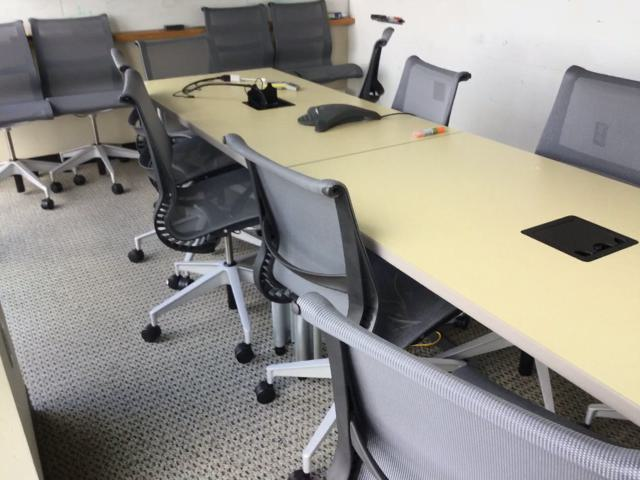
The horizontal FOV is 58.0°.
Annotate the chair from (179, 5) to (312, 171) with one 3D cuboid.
[{"bbox_3d":[-0.490,-1.050,3.900,0.670,0.930,0.580,-14,30,-25],"label":"chair"}]

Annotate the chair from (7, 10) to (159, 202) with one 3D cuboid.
[{"bbox_3d":[-1.390,-0.820,3.420,0.600,0.940,0.610,-14,30,-25],"label":"chair"}]

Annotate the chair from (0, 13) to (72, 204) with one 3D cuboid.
[{"bbox_3d":[-1.820,-0.730,3.160,0.620,0.880,0.700,-14,30,-25],"label":"chair"}]

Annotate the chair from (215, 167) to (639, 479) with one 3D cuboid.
[{"bbox_3d":[0.310,0.300,0.900,0.590,0.560,0.670,23,35,38],"label":"chair"}]

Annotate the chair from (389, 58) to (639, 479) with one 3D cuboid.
[{"bbox_3d":[0.670,0.040,1.680,0.590,0.960,0.700,-14,30,-26],"label":"chair"}]

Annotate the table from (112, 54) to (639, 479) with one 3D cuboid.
[{"bbox_3d":[0.150,0.030,1.940,0.940,0.800,2.990,-14,30,-26],"label":"table"}]

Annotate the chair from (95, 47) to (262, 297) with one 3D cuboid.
[{"bbox_3d":[-0.600,-0.320,2.500,0.480,0.890,0.540,-14,30,-26],"label":"chair"}]

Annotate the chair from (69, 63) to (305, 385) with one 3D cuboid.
[{"bbox_3d":[-0.380,-0.090,2.050,0.610,0.920,0.690,-2,26,-4],"label":"chair"}]

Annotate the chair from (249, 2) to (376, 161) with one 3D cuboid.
[{"bbox_3d":[-0.060,-1.140,4.080,0.650,0.940,0.580,-14,30,-25],"label":"chair"}]
